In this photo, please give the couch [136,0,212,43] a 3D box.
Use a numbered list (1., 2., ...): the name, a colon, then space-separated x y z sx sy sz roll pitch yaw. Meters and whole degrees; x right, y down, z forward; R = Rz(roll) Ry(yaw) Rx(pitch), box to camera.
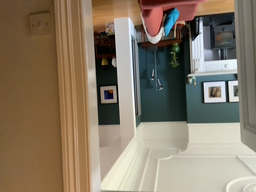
1. couch: 0.600 -1.340 3.010 0.780 0.770 1.540 -2 -179 10
